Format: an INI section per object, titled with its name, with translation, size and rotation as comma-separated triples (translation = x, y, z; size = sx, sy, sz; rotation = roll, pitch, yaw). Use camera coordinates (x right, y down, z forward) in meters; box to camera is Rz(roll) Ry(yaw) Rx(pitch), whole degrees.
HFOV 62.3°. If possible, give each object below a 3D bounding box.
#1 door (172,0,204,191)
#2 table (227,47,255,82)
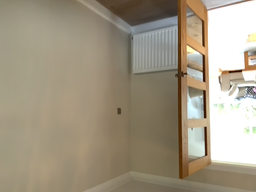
[door]
translation = 0.710, -0.070, 2.440
size = 0.130, 2.080, 0.840
rotation = -2, 175, 30
[table]
translation = 2.810, -0.700, 4.960
size = 0.770, 0.550, 1.050
rotation = -2, 175, 30
